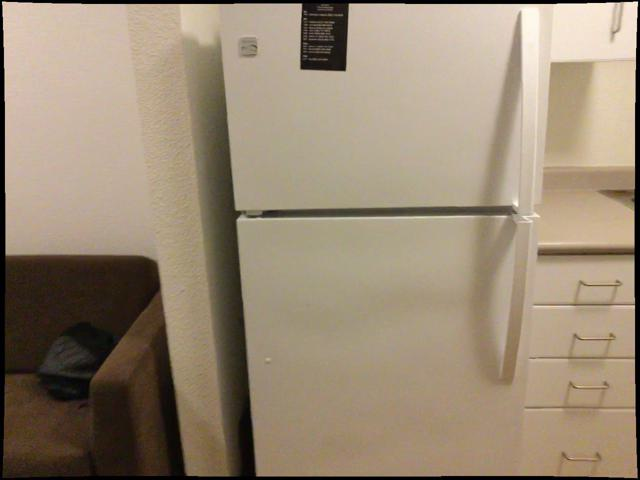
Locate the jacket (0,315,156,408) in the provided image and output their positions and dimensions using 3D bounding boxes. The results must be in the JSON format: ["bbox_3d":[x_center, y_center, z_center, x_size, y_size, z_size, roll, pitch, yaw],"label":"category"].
[{"bbox_3d":[-0.759,0.380,1.850,0.370,0.170,0.270,-2,18,3],"label":"jacket"}]
